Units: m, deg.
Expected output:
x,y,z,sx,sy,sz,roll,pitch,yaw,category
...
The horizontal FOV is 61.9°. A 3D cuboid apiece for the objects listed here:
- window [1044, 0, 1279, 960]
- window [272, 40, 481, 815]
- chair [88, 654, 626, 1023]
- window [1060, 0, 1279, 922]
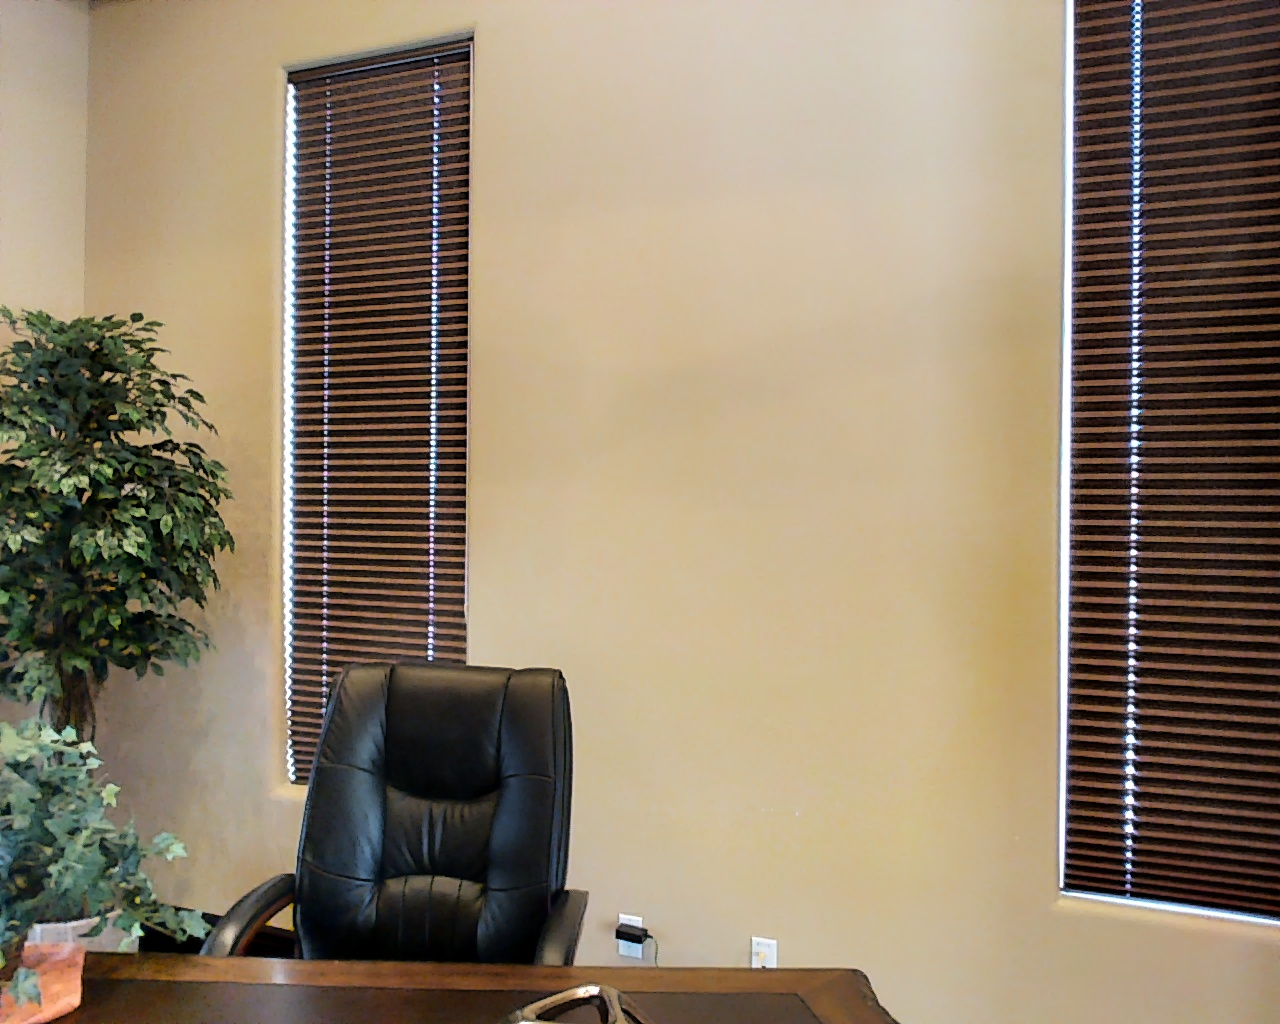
x,y,z,sx,sy,sz,roll,pitch,yaw,category
1.390,-0.230,2.480,0.790,2.470,0.130,1,1,23,window
-0.860,-0.260,3.440,0.700,2.360,0.110,1,1,23,window
-0.460,0.930,2.050,0.770,1.180,0.780,1,1,5,chair
1.400,-0.220,2.520,0.710,2.330,0.050,1,1,23,window
